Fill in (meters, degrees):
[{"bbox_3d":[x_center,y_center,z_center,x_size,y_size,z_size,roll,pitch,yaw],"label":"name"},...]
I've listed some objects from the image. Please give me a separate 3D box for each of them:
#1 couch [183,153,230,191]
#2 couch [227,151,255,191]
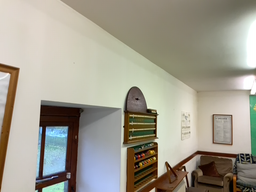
[{"bbox_3d":[1.840,1.840,4.920,0.890,0.810,0.950,-1,-6,29],"label":"couch"},{"bbox_3d":[2.600,1.790,4.670,0.690,0.920,1.050,-1,-6,29],"label":"couch"}]
